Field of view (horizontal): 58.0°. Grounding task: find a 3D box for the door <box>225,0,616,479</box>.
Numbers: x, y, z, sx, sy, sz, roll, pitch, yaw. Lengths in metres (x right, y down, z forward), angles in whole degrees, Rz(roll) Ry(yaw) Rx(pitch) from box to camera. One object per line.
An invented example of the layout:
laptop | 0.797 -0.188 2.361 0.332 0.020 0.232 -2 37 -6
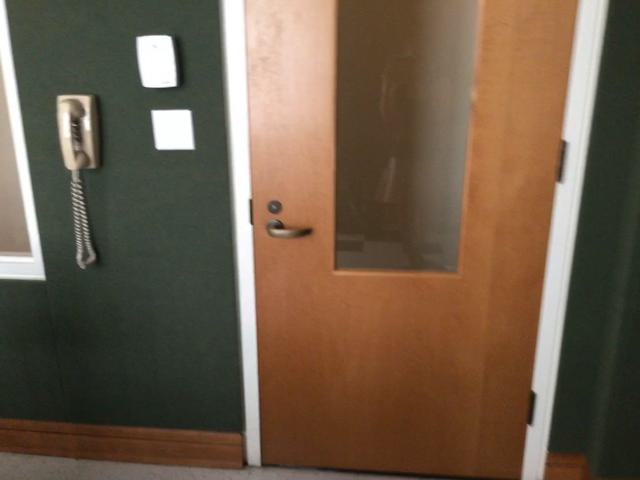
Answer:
door | 0.250 -0.140 1.720 1.020 2.260 0.090 2 17 5

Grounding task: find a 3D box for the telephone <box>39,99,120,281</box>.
telephone | -0.720 -0.150 1.750 0.130 0.530 0.120 2 17 6
